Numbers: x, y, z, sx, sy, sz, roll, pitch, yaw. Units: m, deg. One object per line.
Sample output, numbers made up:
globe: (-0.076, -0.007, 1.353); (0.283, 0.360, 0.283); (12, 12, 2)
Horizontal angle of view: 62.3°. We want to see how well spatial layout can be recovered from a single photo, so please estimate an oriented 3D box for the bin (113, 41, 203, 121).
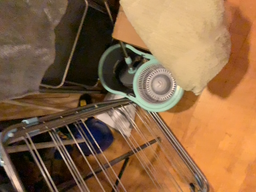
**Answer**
bin: (0.150, -0.080, 1.050); (0.320, 0.210, 0.260); (26, 103, 23)
